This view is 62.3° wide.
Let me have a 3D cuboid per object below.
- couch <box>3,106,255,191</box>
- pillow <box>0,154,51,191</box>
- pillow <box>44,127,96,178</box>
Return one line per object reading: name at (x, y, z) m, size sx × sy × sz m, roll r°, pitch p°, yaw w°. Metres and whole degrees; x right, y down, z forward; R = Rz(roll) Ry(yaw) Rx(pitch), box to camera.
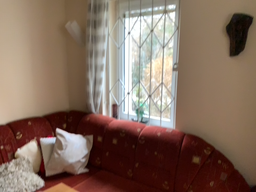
couch at (-0.020, 0.770, 1.880) m, size 2.460 × 0.940 × 0.880 m, roll 7°, pitch 11°, yaw 35°
pillow at (-0.970, 0.740, 1.880) m, size 0.320 × 0.110 × 0.420 m, roll 44°, pitch 28°, yaw 23°
pillow at (-0.580, 0.550, 2.160) m, size 0.290 × 0.330 × 0.410 m, roll 6°, pitch 11°, yaw 33°
